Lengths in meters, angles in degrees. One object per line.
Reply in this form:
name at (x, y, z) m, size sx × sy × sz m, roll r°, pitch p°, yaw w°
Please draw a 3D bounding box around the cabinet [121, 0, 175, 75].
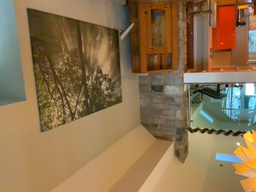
cabinet at (0.380, -1.430, 4.130) m, size 0.840 × 1.960 × 0.530 m, roll -8°, pitch -169°, yaw -23°
